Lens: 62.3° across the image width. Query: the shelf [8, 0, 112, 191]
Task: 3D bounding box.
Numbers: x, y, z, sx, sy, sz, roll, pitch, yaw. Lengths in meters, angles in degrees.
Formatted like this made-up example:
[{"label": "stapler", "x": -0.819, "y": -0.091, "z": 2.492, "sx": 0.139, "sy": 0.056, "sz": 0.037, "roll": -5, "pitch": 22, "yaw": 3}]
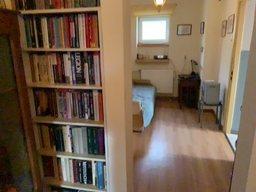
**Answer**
[{"label": "shelf", "x": -0.450, "y": 0.140, "z": 1.550, "sx": 0.630, "sy": 1.960, "sz": 0.110, "roll": 3, "pitch": 15, "yaw": 11}]
